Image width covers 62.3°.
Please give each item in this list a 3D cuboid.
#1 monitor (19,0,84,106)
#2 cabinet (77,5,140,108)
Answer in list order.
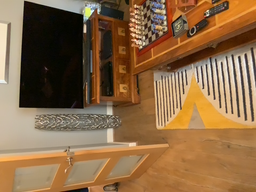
[{"bbox_3d":[-0.880,-0.500,2.540,0.060,0.710,1.230,-14,75,58],"label":"monitor"},{"bbox_3d":[-0.290,-0.460,2.860,0.580,0.630,1.170,-17,72,57],"label":"cabinet"}]
